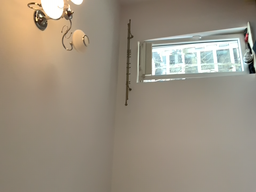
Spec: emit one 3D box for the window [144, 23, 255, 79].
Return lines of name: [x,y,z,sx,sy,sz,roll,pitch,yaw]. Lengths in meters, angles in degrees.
window: [0.990,-0.630,3.070,0.190,1.480,0.640,54,-144,-63]

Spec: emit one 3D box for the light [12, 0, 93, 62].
light: [-0.520,-0.650,1.550,0.510,0.330,0.560,-96,-8,-52]
